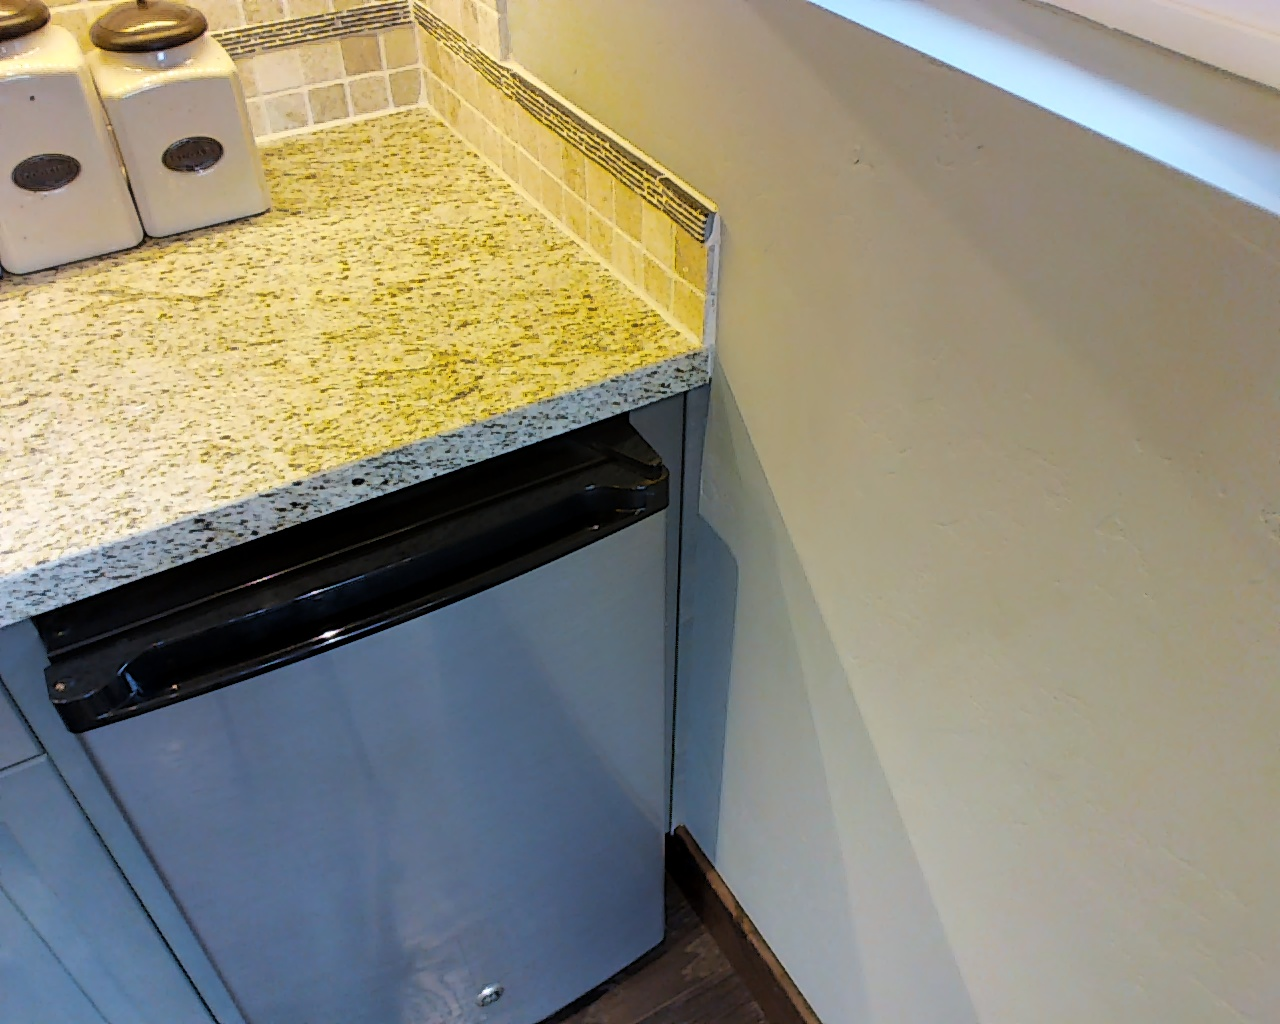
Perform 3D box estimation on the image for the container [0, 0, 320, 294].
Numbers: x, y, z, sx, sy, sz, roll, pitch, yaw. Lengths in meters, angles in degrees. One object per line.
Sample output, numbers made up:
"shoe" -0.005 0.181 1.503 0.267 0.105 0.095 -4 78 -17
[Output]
"container" -0.590 -0.400 1.040 0.450 0.270 0.210 -21 45 -22
